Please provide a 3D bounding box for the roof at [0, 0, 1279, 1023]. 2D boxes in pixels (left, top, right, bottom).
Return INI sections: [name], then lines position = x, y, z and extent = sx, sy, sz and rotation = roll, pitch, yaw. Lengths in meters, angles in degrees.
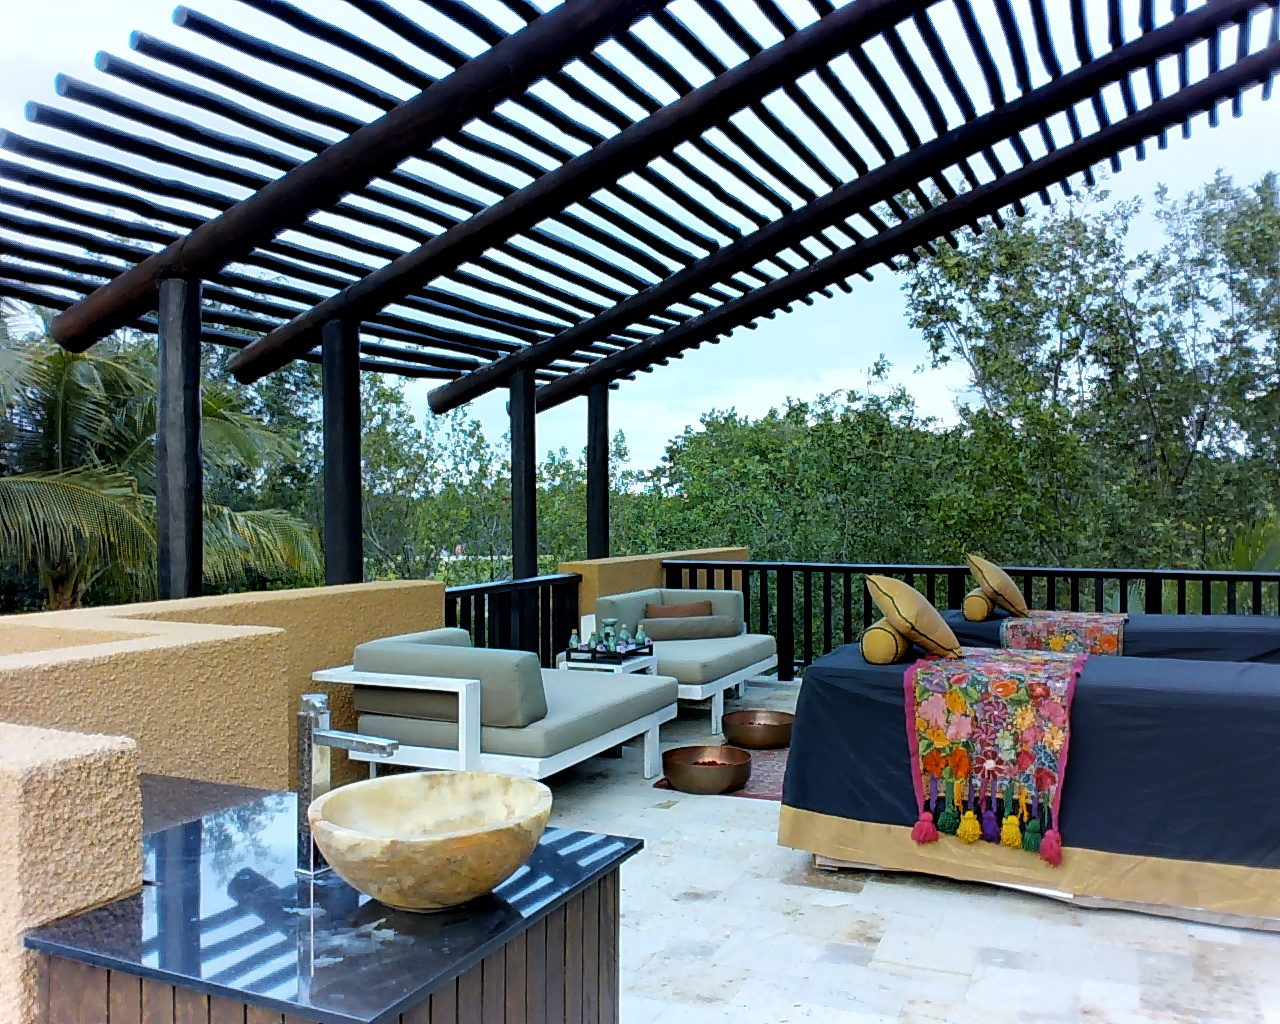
[roof]
position = 0.970, -1.110, 5.580
extent = 5.958, 4.882, 5.940
rotation = 0, 0, 25
